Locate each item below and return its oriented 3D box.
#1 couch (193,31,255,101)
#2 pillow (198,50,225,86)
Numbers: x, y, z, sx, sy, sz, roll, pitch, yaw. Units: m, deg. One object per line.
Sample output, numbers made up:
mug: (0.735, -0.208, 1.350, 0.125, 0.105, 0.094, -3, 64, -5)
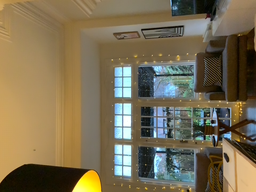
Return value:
couch: (1.530, -0.430, 3.490, 0.860, 0.830, 0.980, -3, -87, -77)
pillow: (1.420, -0.470, 3.610, 0.130, 0.330, 0.540, -2, -98, -49)
